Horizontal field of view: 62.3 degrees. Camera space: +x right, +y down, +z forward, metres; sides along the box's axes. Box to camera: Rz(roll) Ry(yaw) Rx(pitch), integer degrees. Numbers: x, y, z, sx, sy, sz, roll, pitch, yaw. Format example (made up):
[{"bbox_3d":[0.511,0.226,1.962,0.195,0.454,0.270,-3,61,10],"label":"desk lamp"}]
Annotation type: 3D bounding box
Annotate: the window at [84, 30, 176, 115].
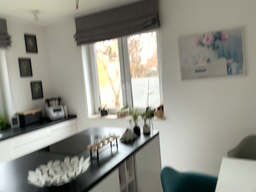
[{"bbox_3d":[-0.010,-0.340,3.670,1.560,1.290,0.200,-2,6,27],"label":"window"}]
